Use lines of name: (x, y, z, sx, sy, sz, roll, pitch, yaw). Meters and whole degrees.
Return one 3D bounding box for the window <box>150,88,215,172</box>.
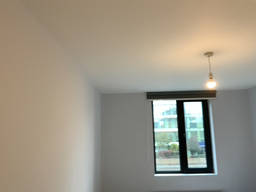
window: (1.010, 0.620, 4.020, 1.120, 1.530, 0.040, -1, -10, -1)
